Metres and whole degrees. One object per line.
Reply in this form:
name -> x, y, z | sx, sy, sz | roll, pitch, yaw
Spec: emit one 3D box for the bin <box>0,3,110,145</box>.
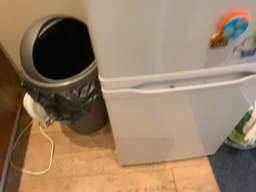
bin -> -0.290, -0.070, 1.090 | 0.320, 0.610, 0.410 | -3, 54, 0
